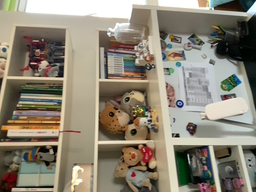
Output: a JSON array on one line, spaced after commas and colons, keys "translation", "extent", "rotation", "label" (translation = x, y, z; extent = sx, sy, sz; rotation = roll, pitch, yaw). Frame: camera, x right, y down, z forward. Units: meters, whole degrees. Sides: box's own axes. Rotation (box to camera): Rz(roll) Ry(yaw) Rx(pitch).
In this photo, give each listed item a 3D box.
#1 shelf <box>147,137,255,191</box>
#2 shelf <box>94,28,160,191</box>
[{"translation": [0.400, 0.400, 0.970], "extent": [0.370, 0.530, 0.340], "rotation": [109, 161, -65], "label": "shelf"}, {"translation": [-0.030, 0.100, 1.130], "extent": [0.190, 0.280, 0.980], "rotation": [109, 161, -65], "label": "shelf"}]
